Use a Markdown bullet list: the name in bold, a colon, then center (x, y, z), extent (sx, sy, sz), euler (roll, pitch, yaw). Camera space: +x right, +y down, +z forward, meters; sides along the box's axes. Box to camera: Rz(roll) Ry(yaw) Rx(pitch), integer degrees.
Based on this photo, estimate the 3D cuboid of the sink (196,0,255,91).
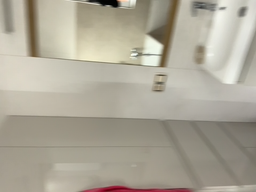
- **sink**: center (0.700, -0.500, 1.280), extent (0.400, 0.200, 0.840), euler (-110, 25, -62)
